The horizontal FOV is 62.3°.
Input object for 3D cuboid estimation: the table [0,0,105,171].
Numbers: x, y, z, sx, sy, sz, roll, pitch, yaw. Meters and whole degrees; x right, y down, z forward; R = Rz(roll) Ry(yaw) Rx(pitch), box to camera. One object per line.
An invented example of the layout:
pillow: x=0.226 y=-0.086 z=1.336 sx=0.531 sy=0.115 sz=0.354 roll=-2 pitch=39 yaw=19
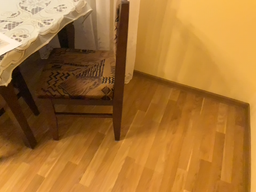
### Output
table: x=-1.010 y=-0.320 z=1.430 sx=1.430 sy=0.740 sz=0.870 roll=19 pitch=49 yaw=14
